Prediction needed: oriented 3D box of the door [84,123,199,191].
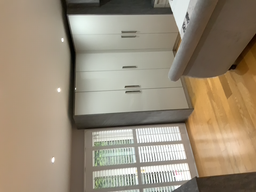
[{"bbox_3d":[0.220,1.350,4.060,0.080,2.080,1.650,100,166,-60],"label":"door"}]
